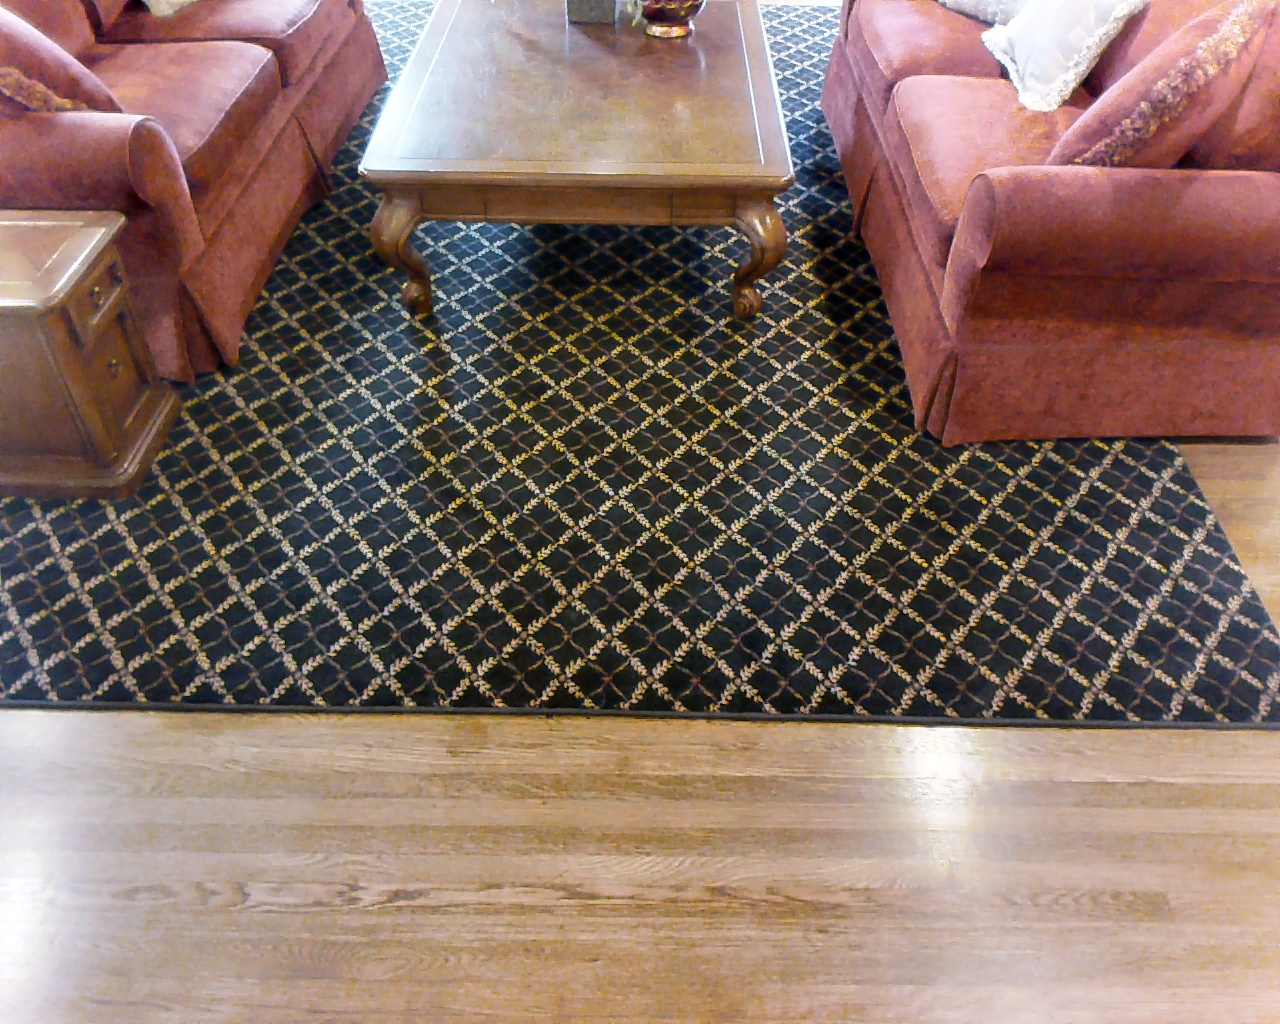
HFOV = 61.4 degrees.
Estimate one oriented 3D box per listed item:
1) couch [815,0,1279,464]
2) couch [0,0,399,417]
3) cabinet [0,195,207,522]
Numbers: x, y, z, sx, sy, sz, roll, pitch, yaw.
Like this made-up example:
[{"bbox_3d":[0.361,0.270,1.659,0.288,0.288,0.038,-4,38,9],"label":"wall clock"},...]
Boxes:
[{"bbox_3d":[1.190,-1.190,2.930,1.080,1.010,2.080,1,42,0],"label":"couch"},{"bbox_3d":[-1.510,-1.360,3.110,1.080,1.050,2.150,1,42,1],"label":"couch"},{"bbox_3d":[-1.450,-0.340,2.360,0.720,0.550,0.430,2,42,2],"label":"cabinet"}]
